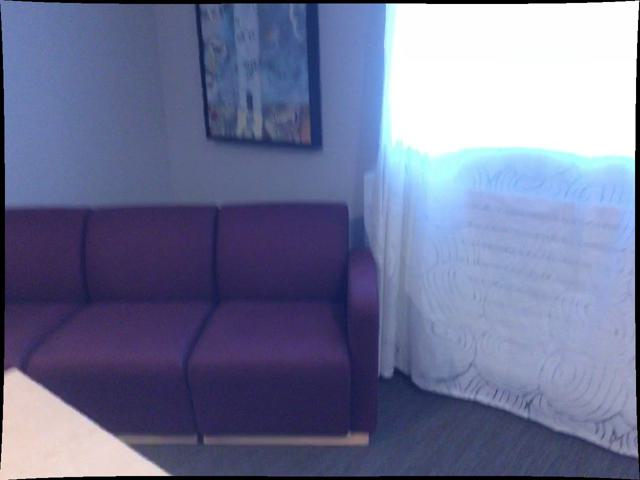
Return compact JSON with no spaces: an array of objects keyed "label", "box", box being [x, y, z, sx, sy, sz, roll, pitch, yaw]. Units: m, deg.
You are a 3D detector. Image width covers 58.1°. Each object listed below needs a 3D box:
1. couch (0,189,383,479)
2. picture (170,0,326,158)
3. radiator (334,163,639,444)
[{"label":"couch","box":[-0.729,0.311,2.280,1.827,0.781,0.870,-2,18,-2]},{"label":"picture","box":[-0.359,-0.982,2.660,0.879,1.112,0.110,13,23,37]},{"label":"radiator","box":[0.819,0.220,2.060,1.818,0.791,0.140,13,23,37]}]
